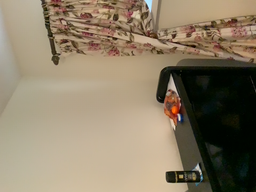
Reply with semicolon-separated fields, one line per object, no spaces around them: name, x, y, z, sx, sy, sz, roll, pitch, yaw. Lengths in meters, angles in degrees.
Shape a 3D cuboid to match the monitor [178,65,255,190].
monitor;0.640;0.130;1.230;0.040;0.590;0.750;95;174;-59
